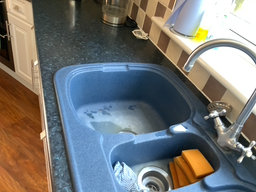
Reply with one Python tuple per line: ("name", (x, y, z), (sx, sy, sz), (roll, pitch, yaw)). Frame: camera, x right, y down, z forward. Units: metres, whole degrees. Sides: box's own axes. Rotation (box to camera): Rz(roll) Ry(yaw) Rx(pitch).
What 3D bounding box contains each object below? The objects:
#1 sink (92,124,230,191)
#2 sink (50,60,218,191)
("sink", (0.080, 0.230, 0.620), (0.320, 0.200, 0.160), (-4, 41, -24))
("sink", (-0.020, 0.070, 0.830), (0.500, 0.250, 0.400), (-4, 41, -24))
